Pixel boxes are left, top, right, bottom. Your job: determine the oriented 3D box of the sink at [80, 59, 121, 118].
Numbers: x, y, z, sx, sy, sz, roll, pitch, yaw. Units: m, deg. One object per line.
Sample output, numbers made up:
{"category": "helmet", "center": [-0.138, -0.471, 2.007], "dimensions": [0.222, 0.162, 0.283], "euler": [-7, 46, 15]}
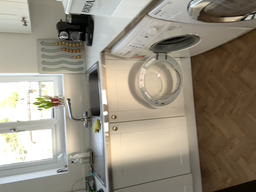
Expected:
{"category": "sink", "center": [-0.270, -0.050, 1.940], "dimensions": [0.530, 0.210, 0.460], "euler": [173, 95, -66]}
